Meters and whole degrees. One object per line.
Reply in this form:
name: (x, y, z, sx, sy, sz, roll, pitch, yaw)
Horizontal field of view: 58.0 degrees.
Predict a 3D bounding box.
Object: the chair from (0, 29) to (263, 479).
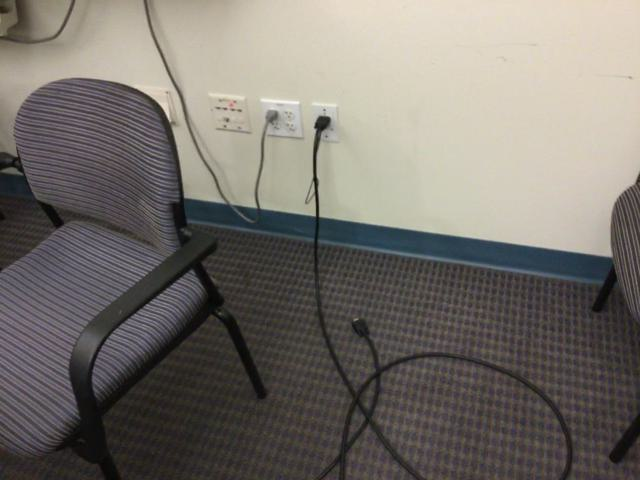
chair: (-0.540, 0.040, 1.200, 0.570, 0.660, 0.630, 18, 42, 19)
